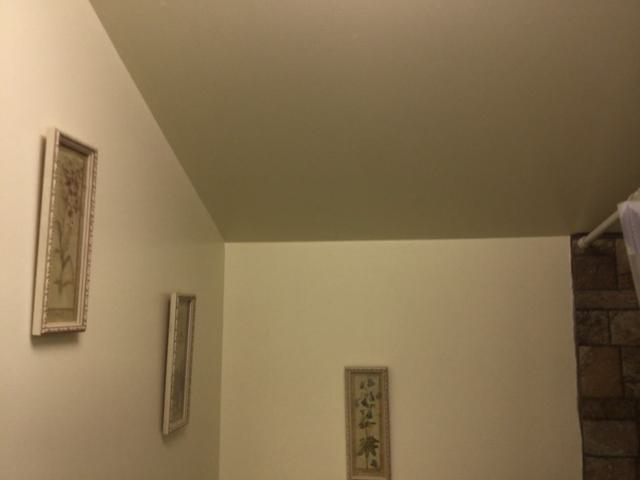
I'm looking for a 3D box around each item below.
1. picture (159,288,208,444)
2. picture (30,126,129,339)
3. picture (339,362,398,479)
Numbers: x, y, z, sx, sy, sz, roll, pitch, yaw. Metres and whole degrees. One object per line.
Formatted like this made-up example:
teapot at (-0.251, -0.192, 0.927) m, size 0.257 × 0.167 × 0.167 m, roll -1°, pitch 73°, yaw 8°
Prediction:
picture at (-0.340, 0.310, 1.460) m, size 0.040 × 0.360 × 0.190 m, roll -3°, pitch -10°, yaw 10°
picture at (-0.410, 0.000, 1.010) m, size 0.040 × 0.340 × 0.200 m, roll -3°, pitch -10°, yaw 10°
picture at (0.140, 0.550, 1.680) m, size 0.160 × 0.380 × 0.030 m, roll -3°, pitch -10°, yaw 10°
